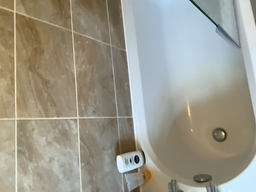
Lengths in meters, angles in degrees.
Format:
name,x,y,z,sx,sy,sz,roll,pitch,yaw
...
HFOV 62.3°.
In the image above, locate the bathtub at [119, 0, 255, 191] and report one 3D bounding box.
name,x,y,z,sx,sy,sz,roll,pitch,yaw
bathtub,0.420,-0.270,1.280,0.660,0.580,1.640,-14,78,38
